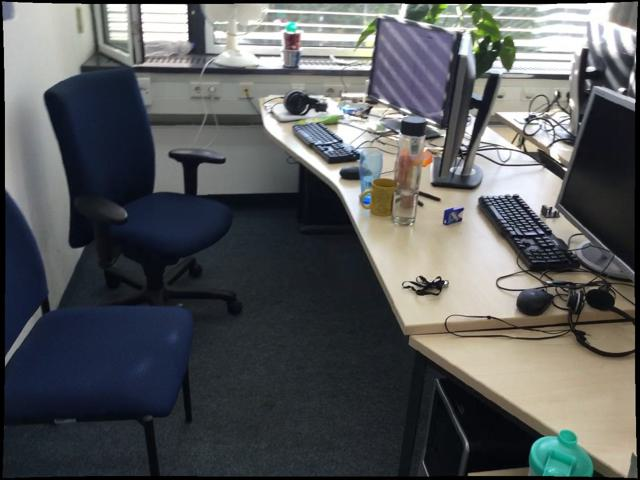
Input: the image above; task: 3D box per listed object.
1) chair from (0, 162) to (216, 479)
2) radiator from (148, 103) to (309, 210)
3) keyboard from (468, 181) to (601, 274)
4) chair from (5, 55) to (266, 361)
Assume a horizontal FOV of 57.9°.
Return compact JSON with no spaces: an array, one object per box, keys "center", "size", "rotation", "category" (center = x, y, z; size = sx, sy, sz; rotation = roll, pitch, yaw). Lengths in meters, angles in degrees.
[{"center":[-0.629,0.290,1.560],"size":[0.629,0.821,0.570],"rotation":[-3,30,-8],"category":"chair"},{"center":[-0.509,-0.490,3.360],"size":[0.859,0.530,0.250],"rotation":[-3,30,-8],"category":"radiator"},{"center":[0.559,-0.050,1.570],"size":[0.150,0.040,0.450],"rotation":[-3,30,-8],"category":"keyboard"},{"center":[-0.639,-0.160,2.320],"size":[0.629,0.961,0.670],"rotation":[9,30,13],"category":"chair"}]
